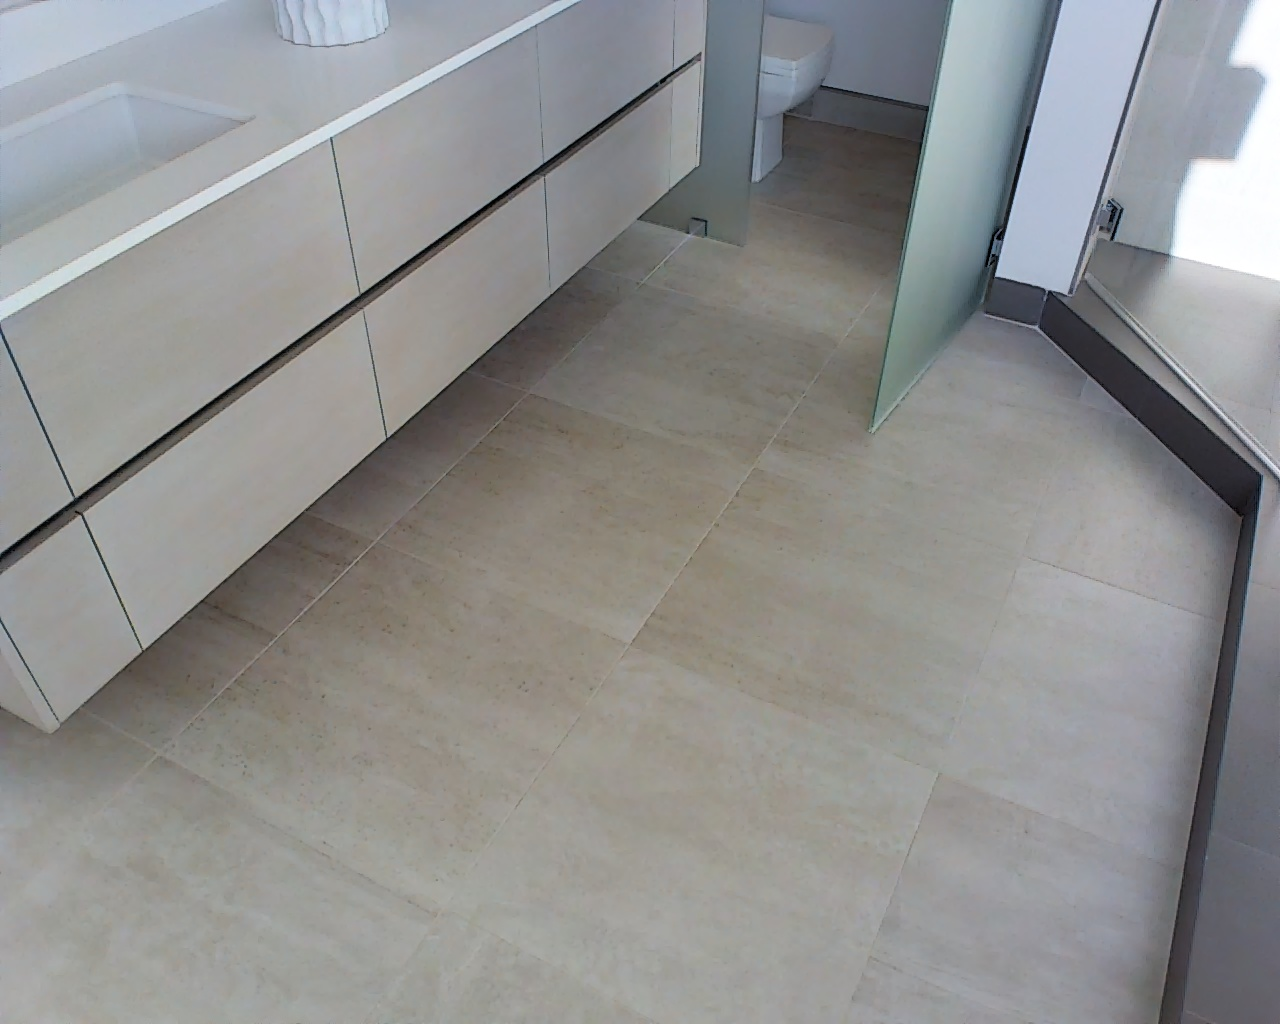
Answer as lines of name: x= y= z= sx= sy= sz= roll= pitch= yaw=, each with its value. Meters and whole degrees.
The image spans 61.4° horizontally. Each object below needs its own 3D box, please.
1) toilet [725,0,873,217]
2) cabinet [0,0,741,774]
toilet: x=0.500 y=-1.280 z=3.400 sx=0.290 sy=0.480 sz=0.460 roll=17 pitch=44 yaw=17
cabinet: x=-0.560 y=-0.650 z=2.250 sx=0.590 sy=0.700 sz=2.350 roll=20 pitch=46 yaw=21
